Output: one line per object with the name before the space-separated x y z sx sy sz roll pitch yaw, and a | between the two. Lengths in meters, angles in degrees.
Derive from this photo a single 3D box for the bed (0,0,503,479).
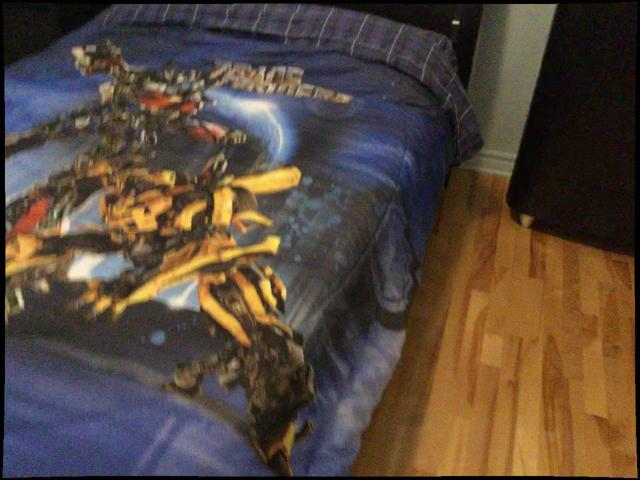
bed | -0.440 -0.320 1.550 1.549 0.881 2.160 14 40 15
